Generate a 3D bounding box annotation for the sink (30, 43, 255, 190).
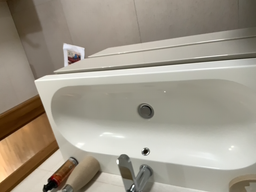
[{"bbox_3d":[0.050,0.070,0.730,0.810,0.100,0.400,-1,114,27],"label":"sink"}]
